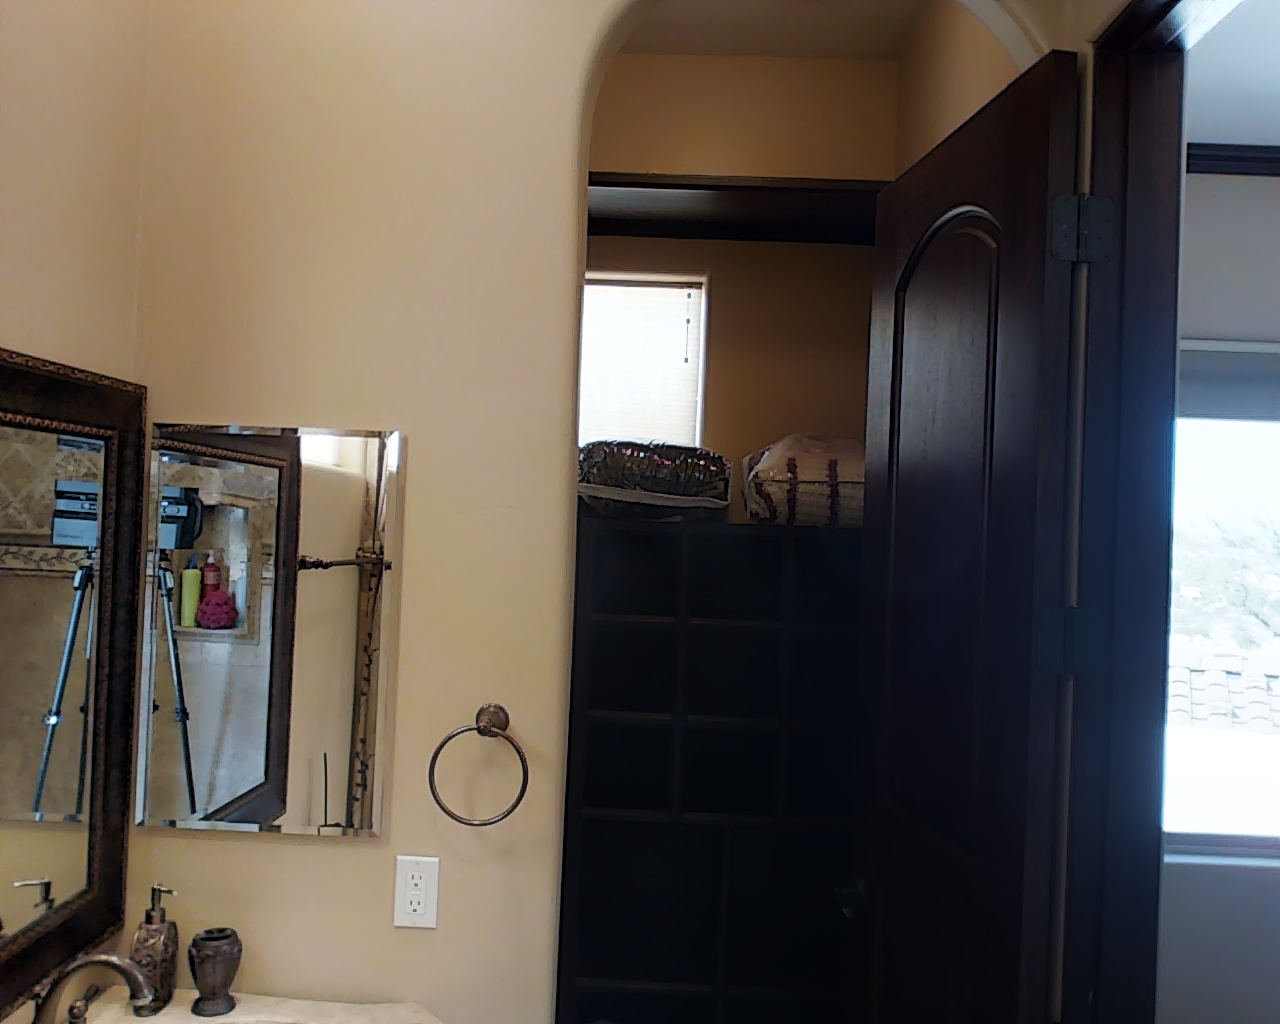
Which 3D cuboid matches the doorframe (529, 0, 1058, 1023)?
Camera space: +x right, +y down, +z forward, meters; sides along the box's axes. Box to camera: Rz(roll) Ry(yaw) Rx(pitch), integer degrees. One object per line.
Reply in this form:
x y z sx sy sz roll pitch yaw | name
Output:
0.230 0.330 1.830 0.760 2.660 0.250 3 0 2 | doorframe

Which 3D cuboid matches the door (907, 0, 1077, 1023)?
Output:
0.560 0.450 1.800 0.030 2.500 0.410 3 0 -5 | door
